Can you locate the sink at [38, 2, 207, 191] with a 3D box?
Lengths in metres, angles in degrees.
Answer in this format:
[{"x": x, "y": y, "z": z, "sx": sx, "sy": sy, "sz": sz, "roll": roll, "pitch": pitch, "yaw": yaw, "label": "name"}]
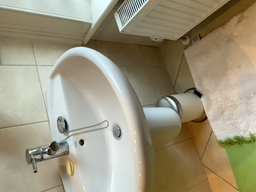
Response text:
[{"x": -0.080, "y": 0.120, "z": 0.700, "sx": 0.480, "sy": 0.180, "sz": 0.600, "roll": -32, "pitch": 70, "yaw": 45, "label": "sink"}]
